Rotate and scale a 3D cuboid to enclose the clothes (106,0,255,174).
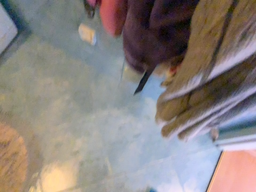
[{"bbox_3d":[0.180,-0.110,0.310,0.280,1.340,0.330,34,73,5],"label":"clothes"}]
